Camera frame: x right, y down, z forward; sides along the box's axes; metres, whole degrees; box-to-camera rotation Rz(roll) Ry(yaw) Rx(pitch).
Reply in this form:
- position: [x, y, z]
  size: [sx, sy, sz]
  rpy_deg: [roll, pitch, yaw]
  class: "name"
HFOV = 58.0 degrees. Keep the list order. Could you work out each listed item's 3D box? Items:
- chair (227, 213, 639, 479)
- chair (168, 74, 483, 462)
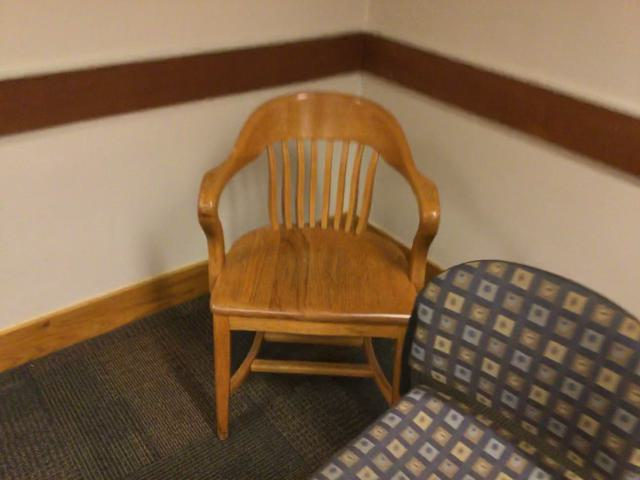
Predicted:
- position: [0.220, 0.370, 0.960]
  size: [0.520, 0.570, 0.530]
  rpy_deg: [27, 34, 35]
  class: "chair"
- position: [-0.030, 0.060, 1.620]
  size: [0.630, 0.850, 0.620]
  rpy_deg: [4, 28, -4]
  class: "chair"
